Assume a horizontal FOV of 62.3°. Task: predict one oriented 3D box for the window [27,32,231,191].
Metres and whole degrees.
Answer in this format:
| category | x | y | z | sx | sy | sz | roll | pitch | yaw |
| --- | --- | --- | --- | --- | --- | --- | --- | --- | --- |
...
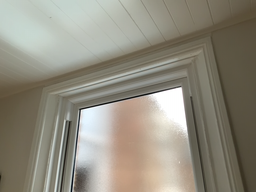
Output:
| category | x | y | z | sx | sy | sz | roll | pitch | yaw |
| --- | --- | --- | --- | --- | --- | --- | --- | --- | --- |
| window | -0.050 | 0.640 | 1.080 | 1.090 | 1.790 | 0.280 | -14 | -28 | 25 |
